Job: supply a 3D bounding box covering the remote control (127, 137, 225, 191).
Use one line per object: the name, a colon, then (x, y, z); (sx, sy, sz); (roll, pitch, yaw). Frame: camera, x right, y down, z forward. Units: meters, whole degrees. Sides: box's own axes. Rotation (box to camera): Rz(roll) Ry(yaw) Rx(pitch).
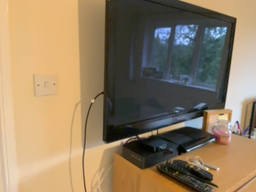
remote control: (0.180, 0.280, 0.910); (0.160, 0.060, 0.400); (-5, 11, -36)
